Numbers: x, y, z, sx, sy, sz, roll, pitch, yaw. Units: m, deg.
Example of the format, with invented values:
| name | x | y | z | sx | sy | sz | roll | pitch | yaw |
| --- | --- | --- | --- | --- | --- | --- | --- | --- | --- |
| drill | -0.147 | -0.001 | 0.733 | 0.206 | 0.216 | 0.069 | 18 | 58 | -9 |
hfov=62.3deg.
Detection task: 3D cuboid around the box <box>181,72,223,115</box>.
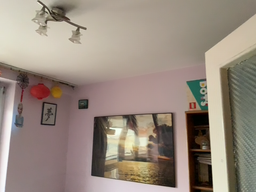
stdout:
| name | x | y | z | sx | sy | sz | roll | pitch | yaw |
| --- | --- | --- | --- | --- | --- | --- | --- | --- | --- |
| box | 0.740 | -0.010 | 2.110 | 0.320 | 0.350 | 0.310 | -6 | -13 | 30 |
